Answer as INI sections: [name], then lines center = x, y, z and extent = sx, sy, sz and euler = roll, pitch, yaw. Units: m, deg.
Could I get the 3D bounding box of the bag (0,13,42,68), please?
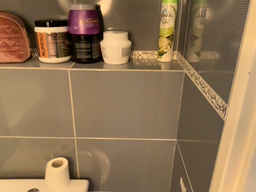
[bag]
center = -0.440, -0.190, 0.700
extent = 0.230, 0.150, 0.150
euler = 2, 23, 2
